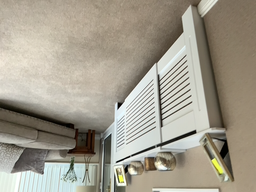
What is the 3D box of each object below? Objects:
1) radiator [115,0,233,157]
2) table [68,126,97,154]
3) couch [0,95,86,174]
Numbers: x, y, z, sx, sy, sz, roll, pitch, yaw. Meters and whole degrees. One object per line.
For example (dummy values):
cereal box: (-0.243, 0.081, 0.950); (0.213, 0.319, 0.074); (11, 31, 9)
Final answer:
radiator: (0.160, 0.070, 1.990); (0.120, 0.770, 1.930); (6, 157, -16)
table: (-0.930, 0.910, 4.320); (0.480, 0.470, 0.450); (7, 156, -18)
couch: (-1.730, 0.720, 3.330); (1.120, 0.840, 1.790); (-14, 154, 29)
